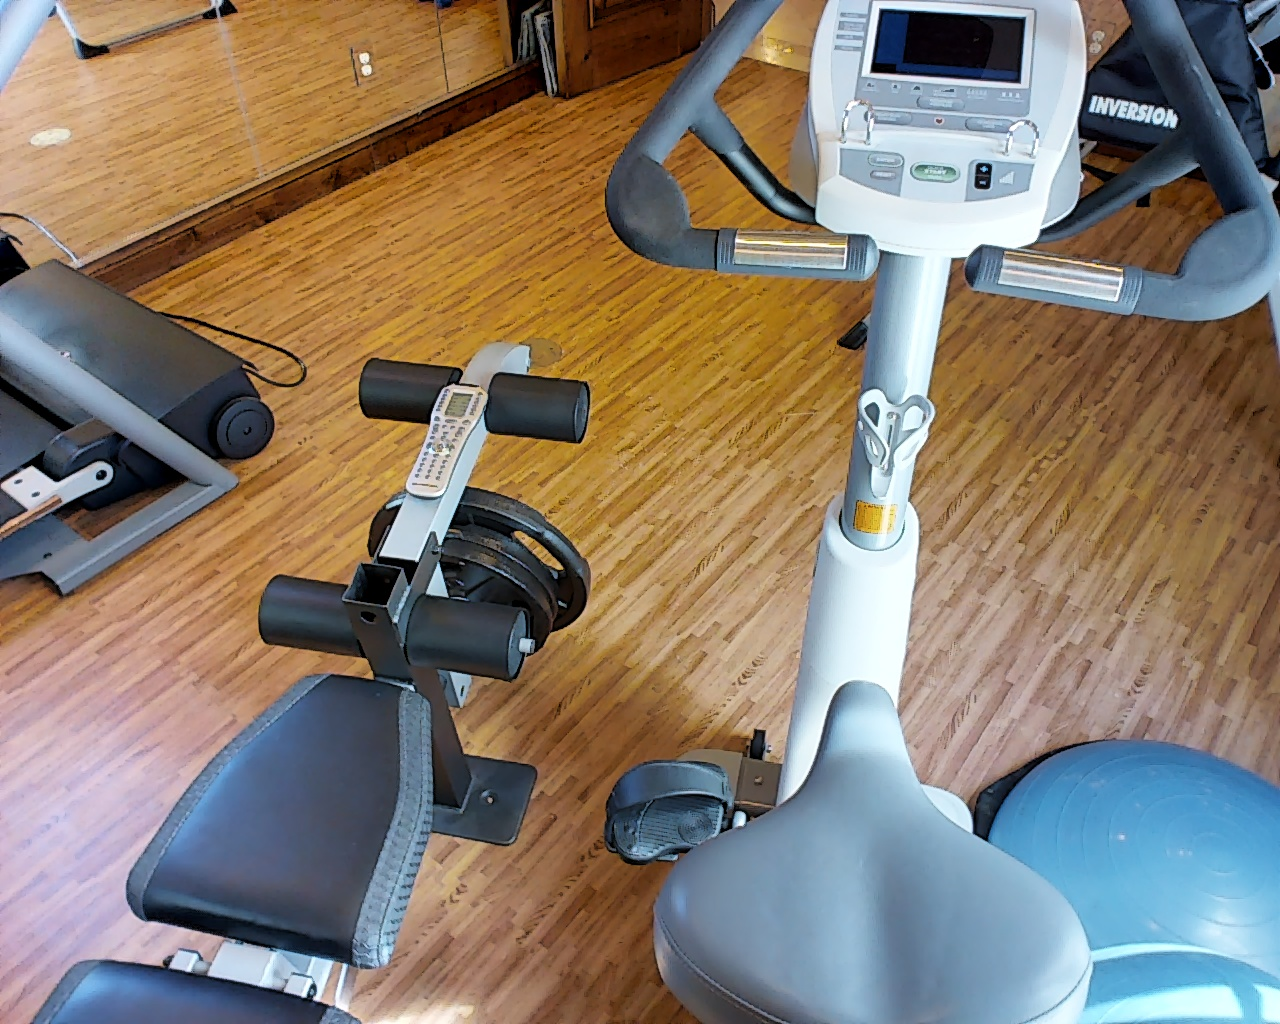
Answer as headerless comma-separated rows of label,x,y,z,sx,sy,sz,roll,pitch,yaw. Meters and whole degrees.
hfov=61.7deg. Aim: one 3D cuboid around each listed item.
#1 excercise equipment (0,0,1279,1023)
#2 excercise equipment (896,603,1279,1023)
excercise equipment,0.250,0.200,1.180,0.730,1.370,1.110,5,43,8
excercise equipment,0.850,0.540,1.650,0.650,0.210,0.620,27,51,28
